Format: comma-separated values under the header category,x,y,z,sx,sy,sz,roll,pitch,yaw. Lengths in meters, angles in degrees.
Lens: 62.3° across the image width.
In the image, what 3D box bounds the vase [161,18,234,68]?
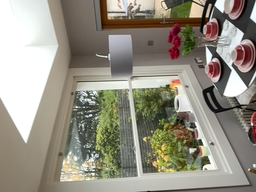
category,x,y,z,sx,sy,sz,roll,pitch,yaw
vase,0.650,-0.530,2.110,0.360,0.540,0.350,-95,5,-46

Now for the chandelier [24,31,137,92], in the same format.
category,x,y,z,sx,sy,sz,roll,pitch,yaw
chandelier,-0.390,-0.330,1.980,0.340,0.900,0.450,-97,7,-58
